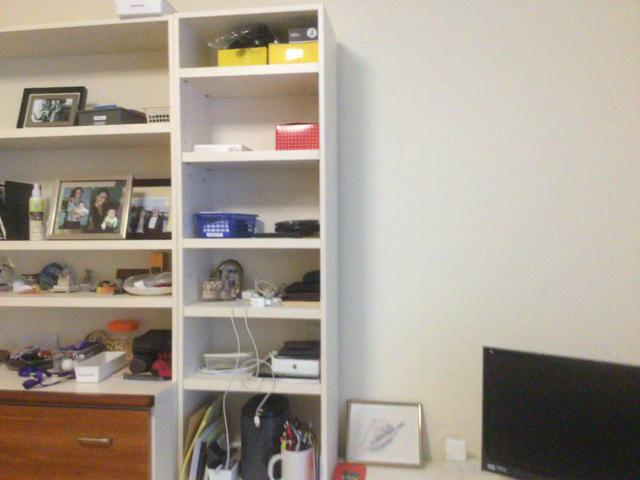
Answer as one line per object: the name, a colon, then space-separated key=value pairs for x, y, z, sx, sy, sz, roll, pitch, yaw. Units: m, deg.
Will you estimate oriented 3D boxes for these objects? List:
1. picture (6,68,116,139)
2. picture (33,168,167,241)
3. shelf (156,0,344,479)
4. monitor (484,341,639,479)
picture: x=-0.860 y=-0.450 z=1.940 sx=0.260 sy=0.180 sz=0.220 roll=0 pitch=1 yaw=8
picture: x=-0.710 y=-0.110 z=1.900 sx=0.320 sy=0.220 sz=0.270 roll=0 pitch=1 yaw=8
shelf: x=-0.200 y=-0.010 z=1.830 sx=0.520 sy=1.460 sz=0.340 roll=0 pitch=1 yaw=8
monitor: x=0.700 y=0.520 z=1.500 sx=0.500 sy=0.430 sz=0.170 roll=1 pitch=1 yaw=41
